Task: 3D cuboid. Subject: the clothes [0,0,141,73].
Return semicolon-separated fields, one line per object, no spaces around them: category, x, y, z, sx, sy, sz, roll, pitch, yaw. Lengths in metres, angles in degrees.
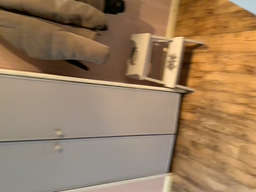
clothes;-0.460;-0.440;1.260;0.390;0.960;0.430;26;108;54
